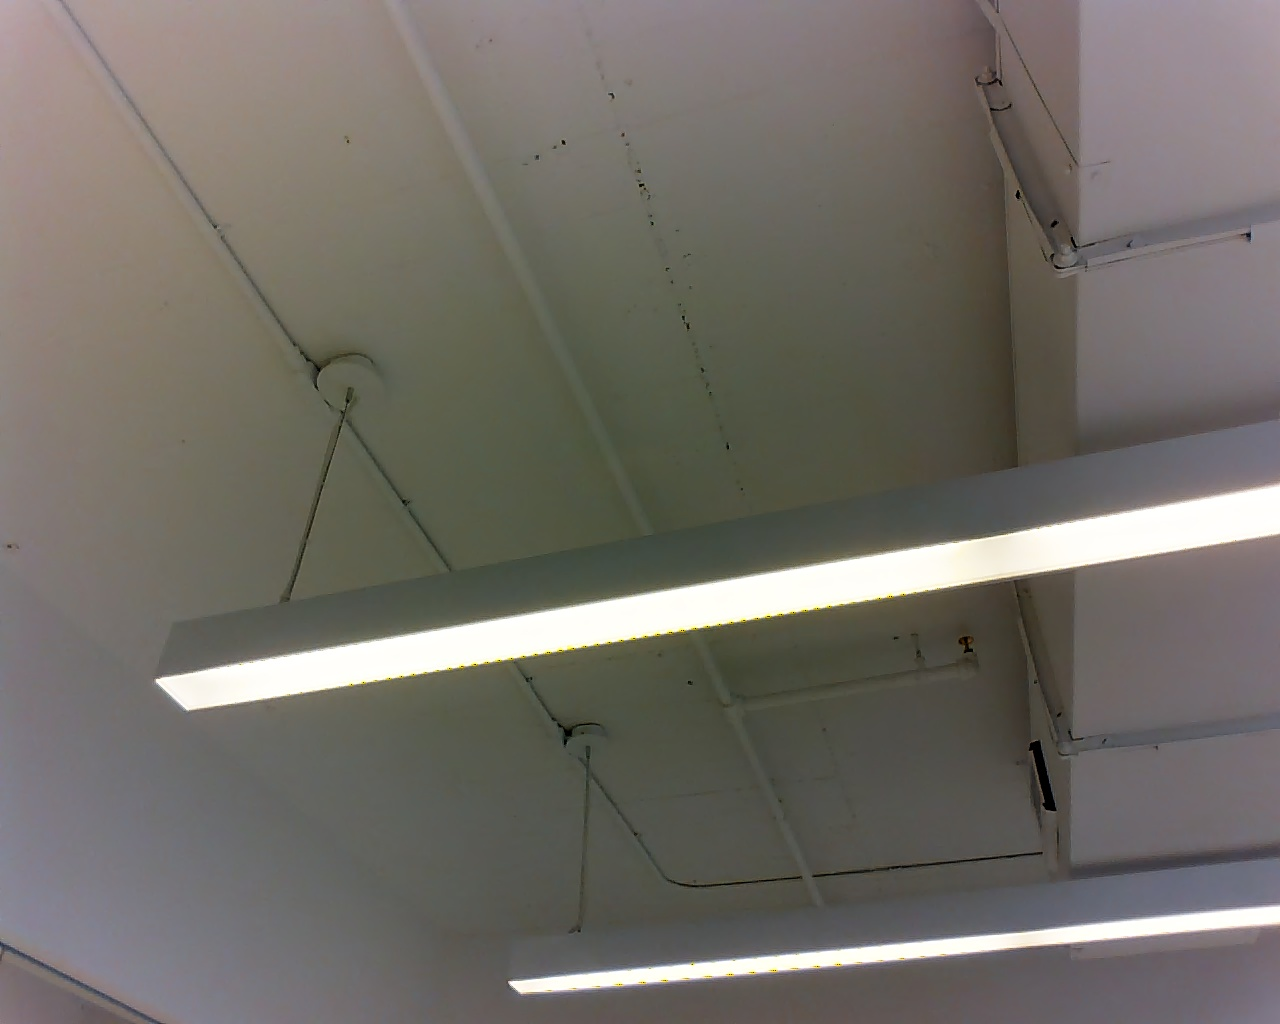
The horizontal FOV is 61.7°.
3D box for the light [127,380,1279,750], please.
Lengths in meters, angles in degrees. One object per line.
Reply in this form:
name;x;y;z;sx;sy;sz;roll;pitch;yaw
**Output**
light;0.470;0.030;1.440;2.498;0.180;0.190;-11;-43;12
